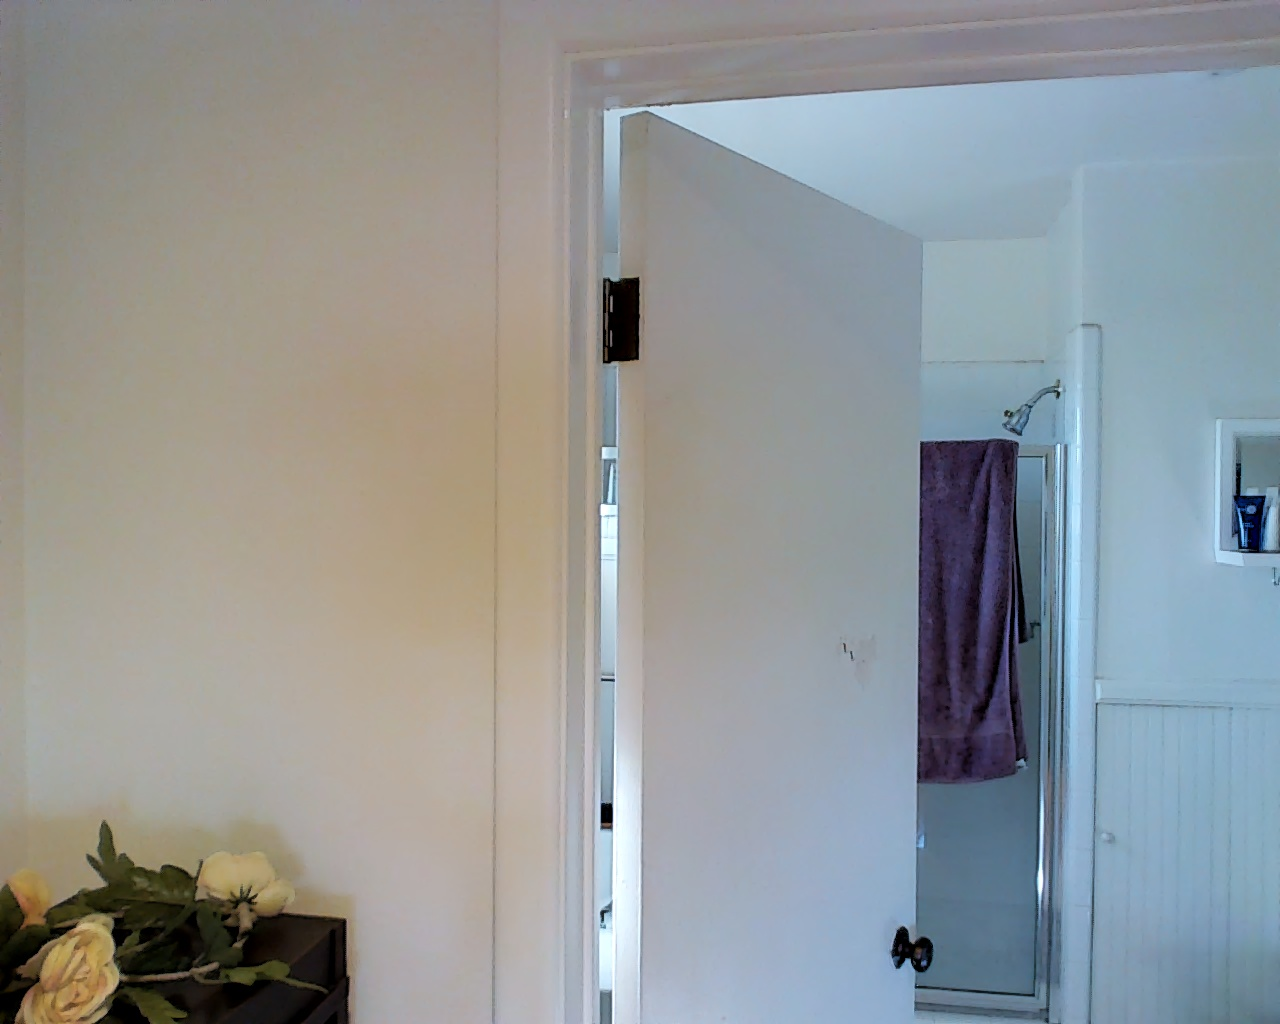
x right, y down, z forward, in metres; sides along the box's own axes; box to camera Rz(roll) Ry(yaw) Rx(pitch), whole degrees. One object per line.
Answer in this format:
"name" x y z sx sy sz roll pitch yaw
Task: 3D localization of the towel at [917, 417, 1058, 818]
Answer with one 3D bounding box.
"towel" 0.950 0.280 2.950 0.340 1.070 0.120 1 1 11
